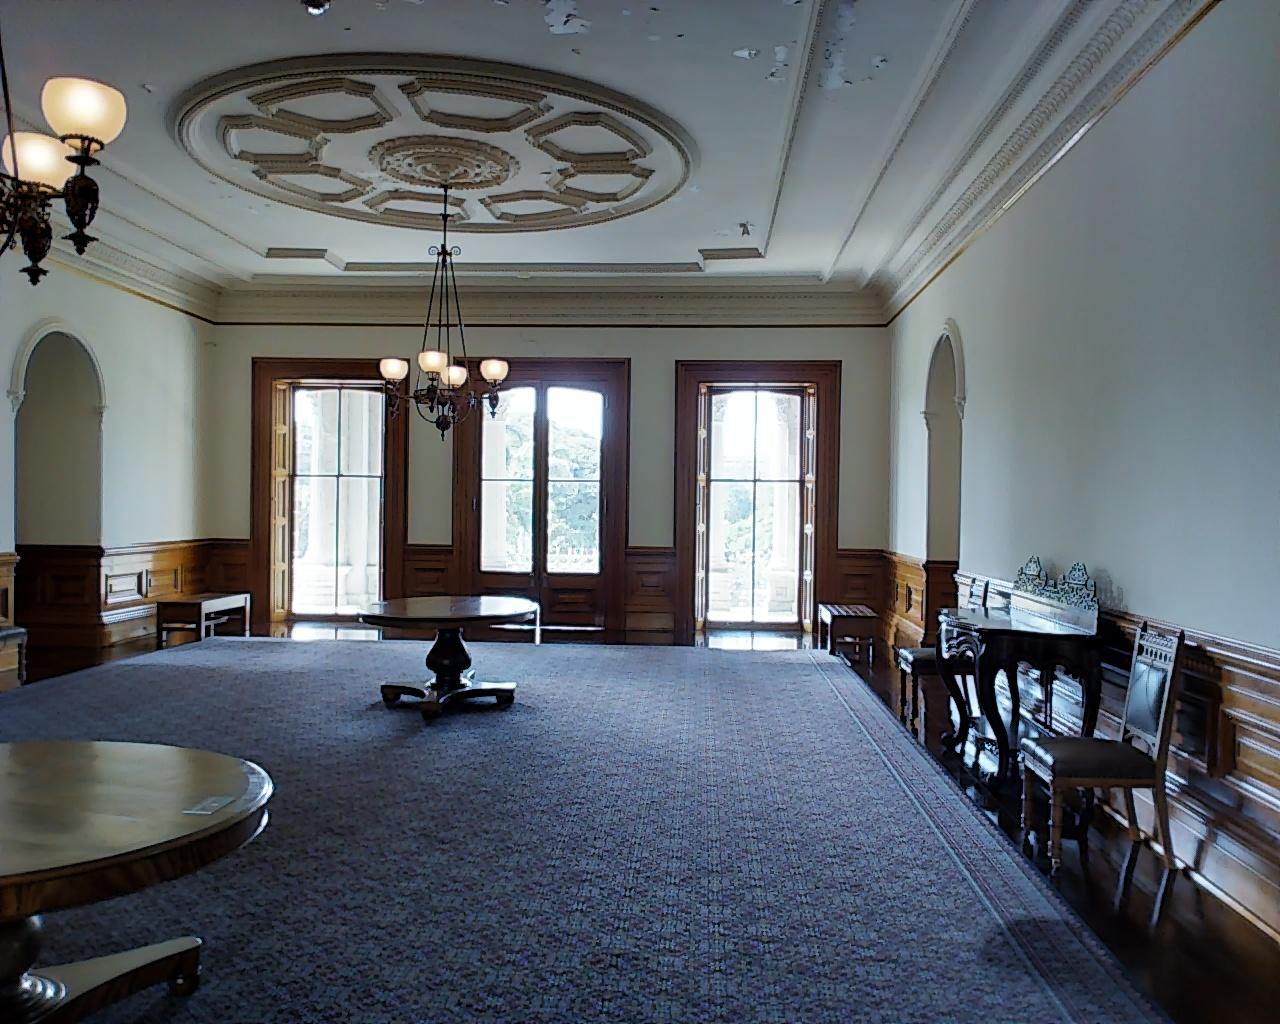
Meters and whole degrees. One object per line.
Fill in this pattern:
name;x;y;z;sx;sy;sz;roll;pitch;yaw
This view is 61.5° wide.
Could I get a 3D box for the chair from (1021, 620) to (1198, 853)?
chair;2.160;1.010;5.000;0.590;0.950;0.560;1;0;4
